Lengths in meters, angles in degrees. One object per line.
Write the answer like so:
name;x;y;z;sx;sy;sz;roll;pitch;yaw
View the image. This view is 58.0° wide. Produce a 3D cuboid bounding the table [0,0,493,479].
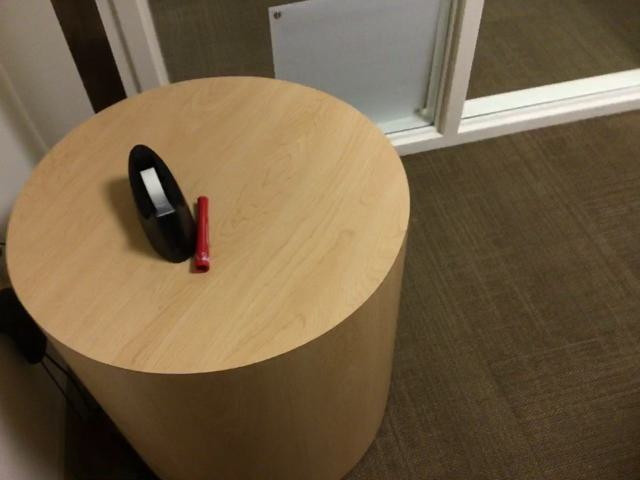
table;-0.160;0.090;1.070;0.610;0.680;0.620;-14;52;-7
